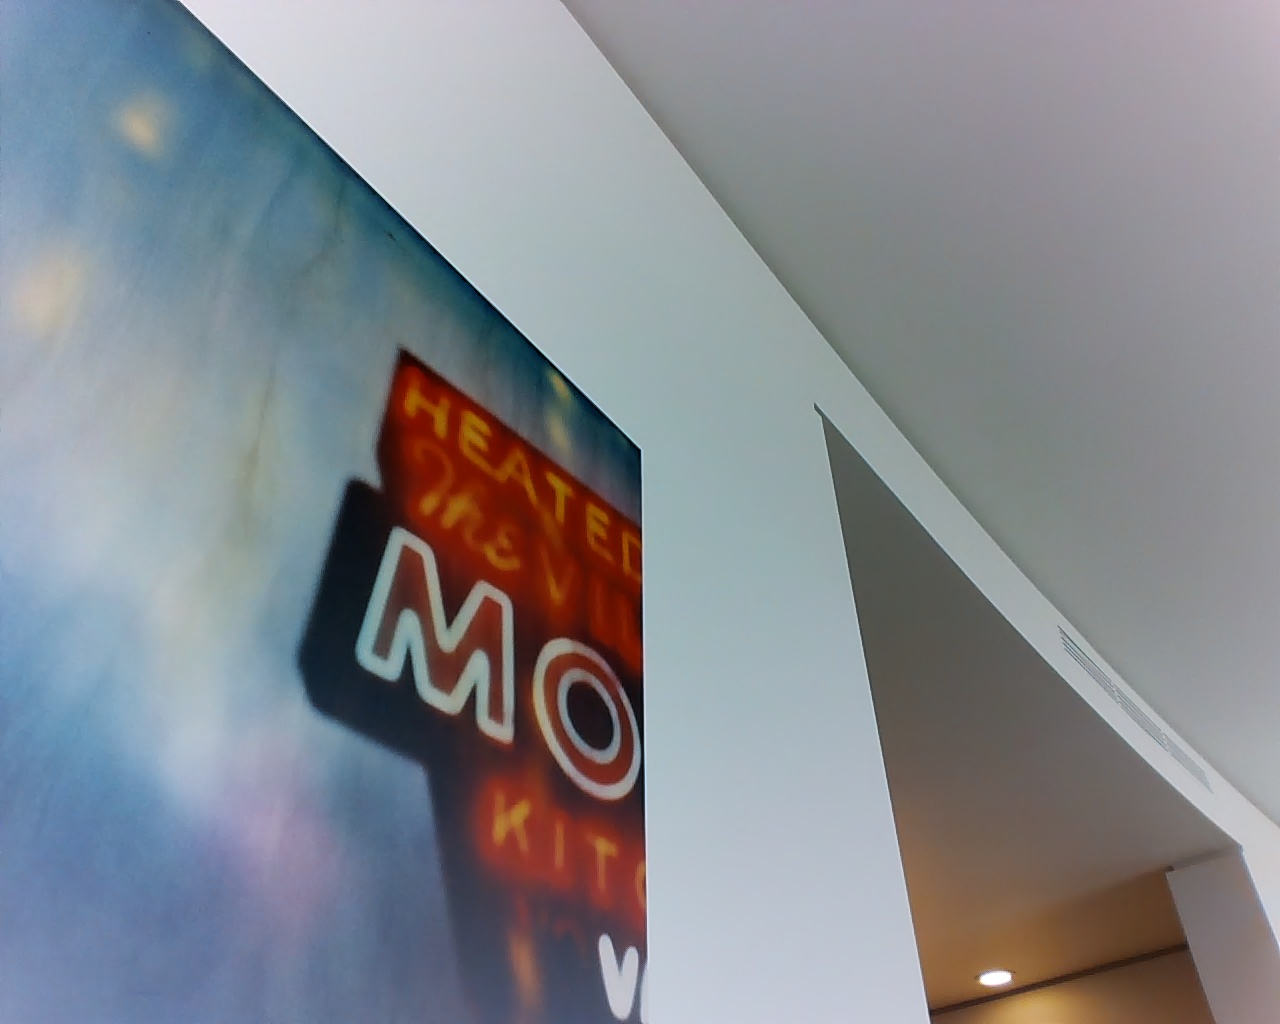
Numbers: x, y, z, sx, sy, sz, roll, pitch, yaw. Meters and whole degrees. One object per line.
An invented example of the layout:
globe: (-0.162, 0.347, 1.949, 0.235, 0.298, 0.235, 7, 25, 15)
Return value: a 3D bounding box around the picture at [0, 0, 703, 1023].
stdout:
picture: (-0.160, 0.010, 0.580, 0.050, 0.630, 0.570, -27, -47, 27)
